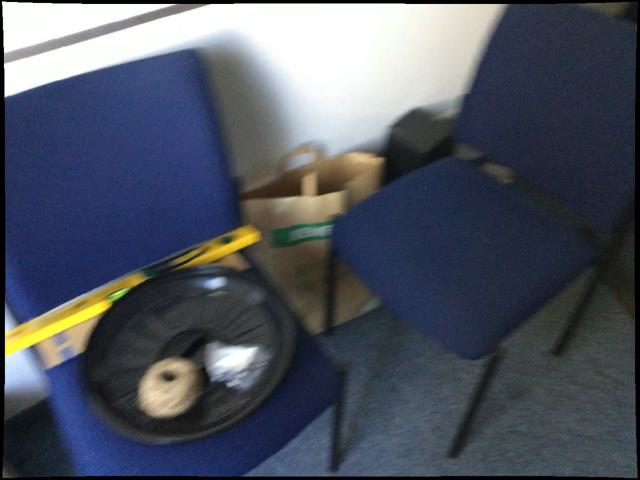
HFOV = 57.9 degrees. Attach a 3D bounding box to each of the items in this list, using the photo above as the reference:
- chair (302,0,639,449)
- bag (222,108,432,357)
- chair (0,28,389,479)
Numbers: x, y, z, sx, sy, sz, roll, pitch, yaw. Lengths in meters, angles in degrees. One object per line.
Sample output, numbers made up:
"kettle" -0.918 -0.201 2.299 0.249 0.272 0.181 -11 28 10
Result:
"chair" 0.370 -0.070 1.300 0.640 0.750 0.490 -30 54 -25
"bag" 0.020 -0.020 1.550 0.420 0.460 0.280 -31 54 -25
"chair" -0.290 0.060 1.000 0.540 0.500 0.610 -19 50 -17
